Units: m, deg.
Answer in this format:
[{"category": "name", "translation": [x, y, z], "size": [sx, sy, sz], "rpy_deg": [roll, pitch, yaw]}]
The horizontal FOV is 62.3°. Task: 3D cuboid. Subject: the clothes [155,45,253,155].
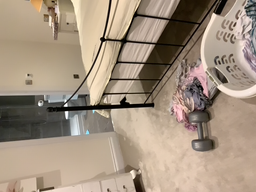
[{"category": "clothes", "translation": [0.460, 0.020, 1.470], "size": [0.470, 0.170, 0.580], "rpy_deg": [114, 145, -43]}]
